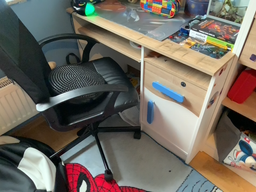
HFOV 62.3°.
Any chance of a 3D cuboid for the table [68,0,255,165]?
[{"bbox_3d":[0.160,-0.200,1.460,0.990,0.740,0.510,34,53,31],"label":"table"}]
